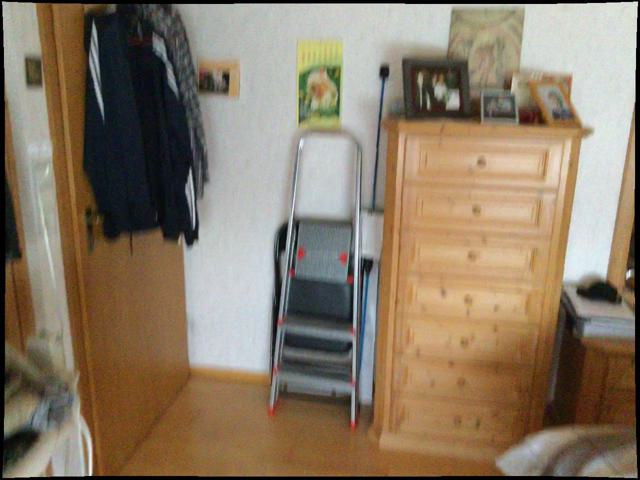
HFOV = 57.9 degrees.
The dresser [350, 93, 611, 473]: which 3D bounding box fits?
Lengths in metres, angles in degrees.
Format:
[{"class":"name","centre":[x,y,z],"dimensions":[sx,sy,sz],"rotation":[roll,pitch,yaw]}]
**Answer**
[{"class":"dresser","centre":[0.599,0.140,2.450],"dimensions":[0.799,1.421,0.570],"rotation":[5,18,11]}]

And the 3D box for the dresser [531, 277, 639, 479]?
[{"class":"dresser","centre":[1.628,0.601,2.360],"dimensions":[1.299,0.671,0.470],"rotation":[4,18,8]}]

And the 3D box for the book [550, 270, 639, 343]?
[{"class":"book","centre":[1.199,0.270,2.410],"dimensions":[0.380,0.130,0.390],"rotation":[5,18,11]}]
